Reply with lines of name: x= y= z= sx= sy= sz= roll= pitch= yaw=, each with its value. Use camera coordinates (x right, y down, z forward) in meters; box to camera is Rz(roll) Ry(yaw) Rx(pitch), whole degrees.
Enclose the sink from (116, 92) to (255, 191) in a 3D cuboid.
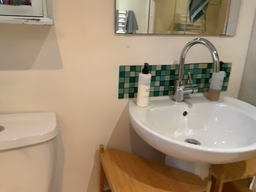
sink: x=0.280 y=0.160 z=0.860 sx=0.540 sy=0.180 sz=0.470 roll=-4 pitch=20 yaw=-19
